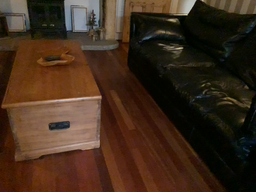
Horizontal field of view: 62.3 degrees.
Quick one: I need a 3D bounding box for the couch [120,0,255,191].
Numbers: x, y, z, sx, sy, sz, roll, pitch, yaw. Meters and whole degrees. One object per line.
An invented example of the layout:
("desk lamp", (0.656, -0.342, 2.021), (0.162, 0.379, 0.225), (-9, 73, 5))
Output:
("couch", (0.840, -0.260, 1.940), (1.160, 0.880, 2.280), (-5, 33, -19))
